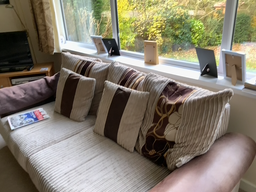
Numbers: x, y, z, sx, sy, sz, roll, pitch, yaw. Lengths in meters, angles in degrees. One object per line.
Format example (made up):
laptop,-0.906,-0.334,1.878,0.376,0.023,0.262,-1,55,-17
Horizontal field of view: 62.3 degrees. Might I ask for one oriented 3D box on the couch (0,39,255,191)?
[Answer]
couch,-0.310,0.170,1.720,1.140,0.880,2.180,-23,31,-38
